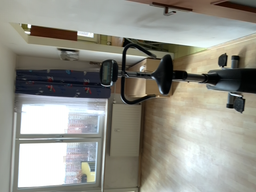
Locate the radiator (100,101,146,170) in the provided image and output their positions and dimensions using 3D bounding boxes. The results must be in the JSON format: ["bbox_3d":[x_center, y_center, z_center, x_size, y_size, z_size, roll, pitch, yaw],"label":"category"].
[{"bbox_3d":[-0.100,0.800,4.320,0.190,0.810,1.360,-163,77,-74],"label":"radiator"}]

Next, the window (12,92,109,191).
[{"bbox_3d":[-1.250,0.910,4.030,0.220,1.610,1.870,-159,74,-73],"label":"window"}]

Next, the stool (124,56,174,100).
[{"bbox_3d":[0.310,-0.270,3.810,1.220,0.440,0.630,-178,91,-74],"label":"stool"}]
